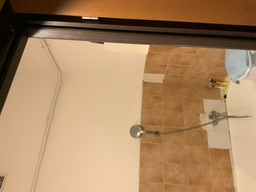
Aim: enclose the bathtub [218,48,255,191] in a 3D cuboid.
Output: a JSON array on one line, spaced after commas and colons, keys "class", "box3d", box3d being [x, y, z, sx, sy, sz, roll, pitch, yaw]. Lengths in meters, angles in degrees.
[{"class": "bathtub", "box3d": [1.360, 0.580, 1.940, 0.720, 0.540, 1.950, 93, -179, -63]}]
